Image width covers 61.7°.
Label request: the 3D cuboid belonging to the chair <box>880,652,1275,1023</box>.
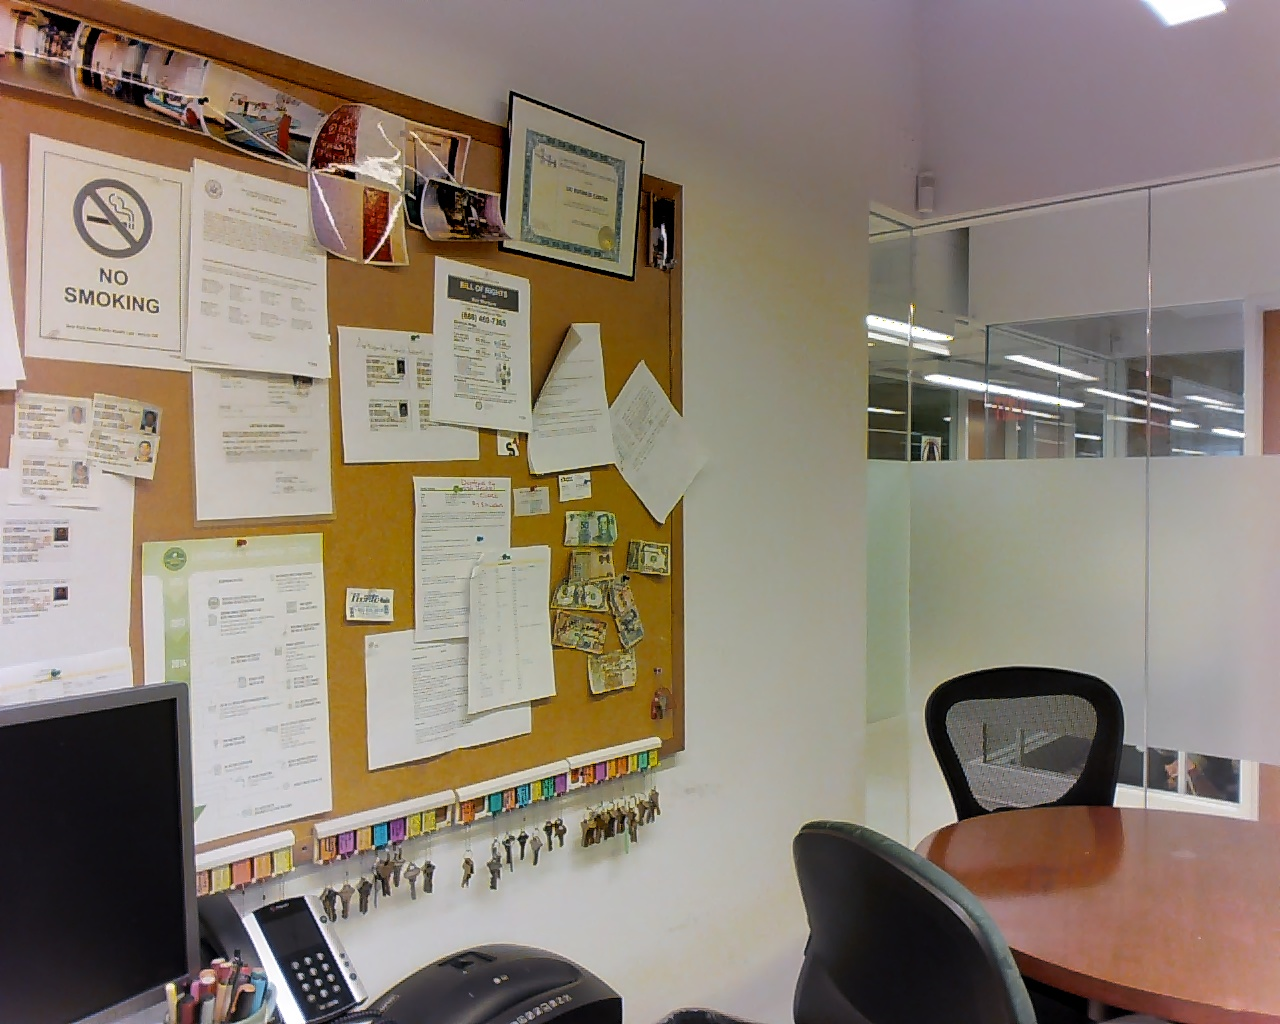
[{"bbox_3d":[0.980,0.920,2.550,0.690,1.080,0.620,1,0,2],"label":"chair"}]

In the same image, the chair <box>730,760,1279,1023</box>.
[{"bbox_3d":[0.560,0.980,1.780,0.540,0.940,0.670,0,0,-28],"label":"chair"}]
